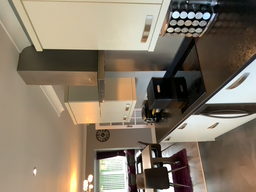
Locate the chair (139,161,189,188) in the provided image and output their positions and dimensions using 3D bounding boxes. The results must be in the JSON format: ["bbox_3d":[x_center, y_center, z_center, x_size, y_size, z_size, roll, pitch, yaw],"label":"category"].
[{"bbox_3d":[0.740,1.680,4.510,0.510,0.890,0.440,103,164,-65],"label":"chair"}]

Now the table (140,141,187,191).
[{"bbox_3d":[0.790,2.120,4.780,1.010,0.740,1.990,105,162,-67],"label":"table"}]

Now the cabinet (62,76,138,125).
[{"bbox_3d":[-0.360,0.090,2.820,0.820,0.840,0.350,105,163,-66],"label":"cabinet"}]
